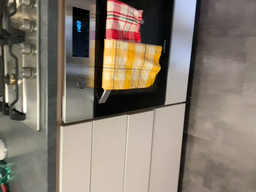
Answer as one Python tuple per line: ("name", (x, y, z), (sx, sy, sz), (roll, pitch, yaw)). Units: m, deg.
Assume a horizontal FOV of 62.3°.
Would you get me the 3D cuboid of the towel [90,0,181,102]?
("towel", (0.040, -0.190, 0.810), (0.120, 0.350, 0.380), (12, 102, 42))
